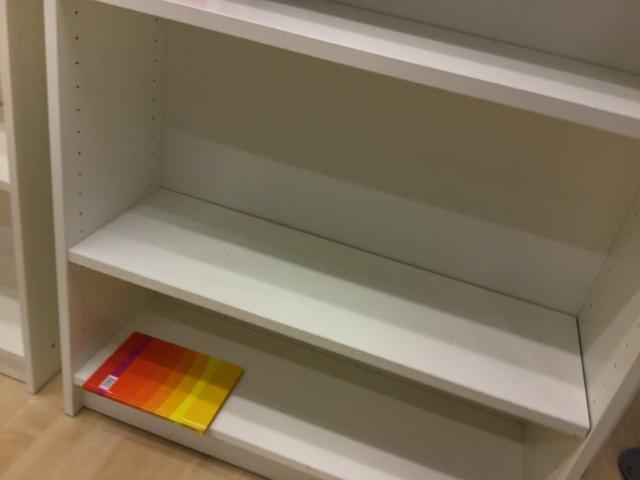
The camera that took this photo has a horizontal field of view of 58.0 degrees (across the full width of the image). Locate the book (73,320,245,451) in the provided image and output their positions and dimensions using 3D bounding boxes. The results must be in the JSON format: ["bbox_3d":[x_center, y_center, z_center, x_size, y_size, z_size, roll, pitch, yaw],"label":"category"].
[{"bbox_3d":[-0.280,0.250,1.020,0.250,0.070,0.140,18,33,9],"label":"book"}]
